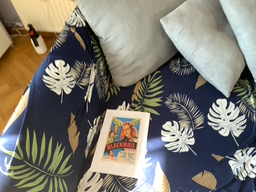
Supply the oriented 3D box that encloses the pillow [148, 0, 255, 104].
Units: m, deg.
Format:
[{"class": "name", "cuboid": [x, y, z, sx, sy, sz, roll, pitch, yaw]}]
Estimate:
[{"class": "pillow", "cuboid": [0.450, -0.300, 1.130, 0.400, 0.280, 0.580, 30, 51, 30]}]
